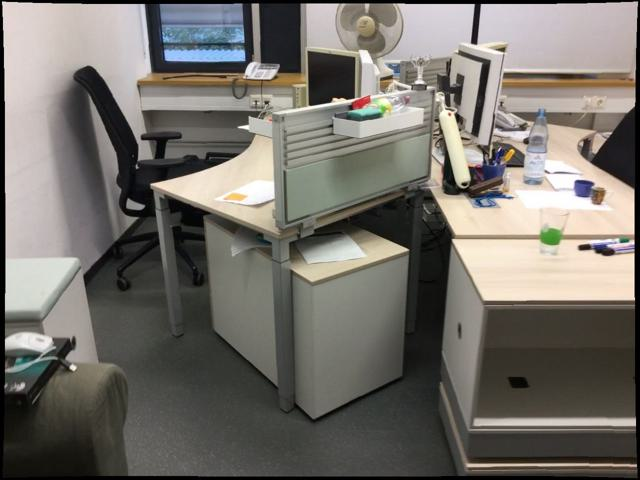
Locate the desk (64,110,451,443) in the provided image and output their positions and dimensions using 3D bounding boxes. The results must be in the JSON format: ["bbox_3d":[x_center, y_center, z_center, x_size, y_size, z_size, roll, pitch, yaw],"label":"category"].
[{"bbox_3d":[0.010,-0.120,2.980,1.169,0.691,2.360,4,22,14],"label":"desk"}]

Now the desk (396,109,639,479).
[{"bbox_3d":[0.899,-0.020,2.670,0.939,0.701,2.460,0,23,4],"label":"desk"}]

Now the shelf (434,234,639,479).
[{"bbox_3d":[0.819,0.380,1.740,0.859,0.671,0.460,0,23,4],"label":"shelf"}]
